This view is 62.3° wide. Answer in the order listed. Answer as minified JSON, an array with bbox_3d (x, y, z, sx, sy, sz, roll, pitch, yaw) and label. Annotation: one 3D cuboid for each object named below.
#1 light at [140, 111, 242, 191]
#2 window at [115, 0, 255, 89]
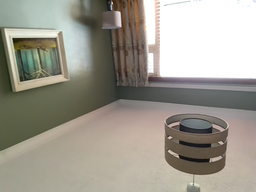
[{"bbox_3d":[0.400,0.360,1.300,0.440,0.390,0.340,33,74,-45],"label":"light"},{"bbox_3d":[0.730,-0.940,2.830,0.120,2.030,1.600,-24,115,-55],"label":"window"}]
